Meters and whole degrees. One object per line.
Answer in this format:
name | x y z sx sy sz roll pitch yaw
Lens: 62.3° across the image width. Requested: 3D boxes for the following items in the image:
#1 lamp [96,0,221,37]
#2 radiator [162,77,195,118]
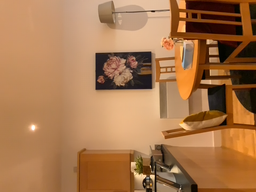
lamp | 0.450 -1.290 3.360 0.330 1.850 0.530 54 -145 -85
radiator | 0.780 0.030 3.330 0.180 0.460 0.610 45 -136 -86
